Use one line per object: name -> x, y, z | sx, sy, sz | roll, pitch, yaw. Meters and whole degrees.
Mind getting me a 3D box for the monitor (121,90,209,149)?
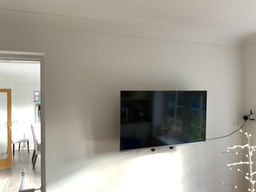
monitor -> 0.370, 0.190, 1.930 | 0.900, 0.480, 0.040 | 0, 0, -22
